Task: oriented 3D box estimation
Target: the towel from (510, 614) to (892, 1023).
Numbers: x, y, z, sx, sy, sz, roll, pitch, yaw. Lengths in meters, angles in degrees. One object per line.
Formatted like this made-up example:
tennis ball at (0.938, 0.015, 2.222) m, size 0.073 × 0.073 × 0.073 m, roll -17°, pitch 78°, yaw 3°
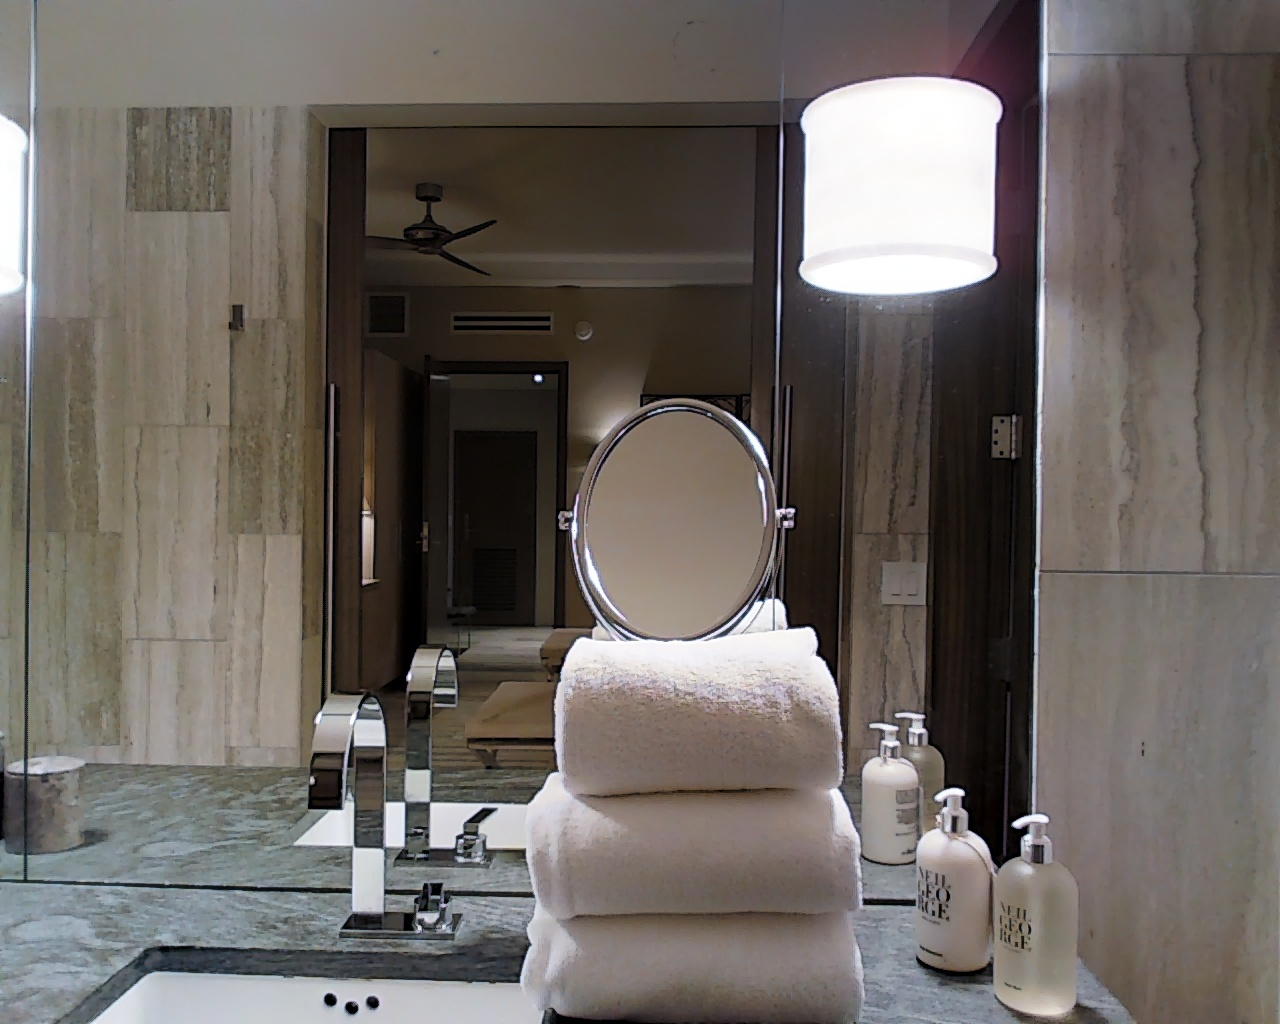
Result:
towel at (0.060, 0.290, 1.110) m, size 0.330 × 0.330 × 0.340 m, roll 0°, pitch 0°, yaw 3°

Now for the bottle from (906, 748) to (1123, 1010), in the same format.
bottle at (0.370, 0.360, 1.100) m, size 0.150 × 0.180 × 0.240 m, roll 0°, pitch 0°, yaw 4°
